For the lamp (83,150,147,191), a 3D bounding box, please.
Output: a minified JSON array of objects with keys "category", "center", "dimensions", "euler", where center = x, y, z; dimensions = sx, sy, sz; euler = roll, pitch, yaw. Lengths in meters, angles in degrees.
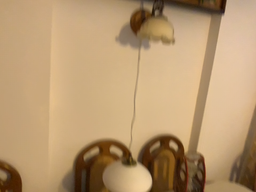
[{"category":"lamp","center":[-0.080,0.480,1.030],"dimensions":[0.190,0.320,0.260],"euler":[-1,14,-31]}]
